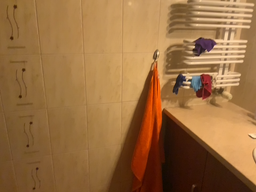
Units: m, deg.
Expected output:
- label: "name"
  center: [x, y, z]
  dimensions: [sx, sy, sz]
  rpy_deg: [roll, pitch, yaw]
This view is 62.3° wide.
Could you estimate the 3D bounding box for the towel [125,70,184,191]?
- label: "towel"
  center: [0.170, 0.410, 1.630]
  dimensions: [0.320, 1.190, 0.190]
  rpy_deg: [-4, 20, -15]
